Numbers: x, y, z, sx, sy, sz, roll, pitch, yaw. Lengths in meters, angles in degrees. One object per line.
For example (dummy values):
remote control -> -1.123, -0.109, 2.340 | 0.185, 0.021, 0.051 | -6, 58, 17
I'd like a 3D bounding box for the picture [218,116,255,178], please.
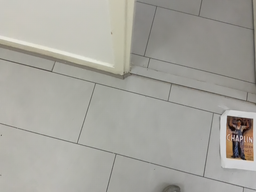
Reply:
picture -> 0.590, 0.260, 1.080 | 0.240, 0.020, 0.280 | 9, 77, 1
